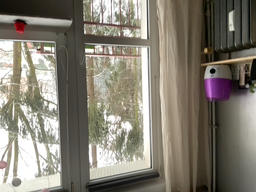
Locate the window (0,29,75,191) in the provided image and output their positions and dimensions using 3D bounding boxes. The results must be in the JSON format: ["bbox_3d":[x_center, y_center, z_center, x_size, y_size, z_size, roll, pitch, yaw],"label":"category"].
[{"bbox_3d":[-1.180,0.300,1.560,1.490,1.560,0.170,-3,-177,-23],"label":"window"}]
